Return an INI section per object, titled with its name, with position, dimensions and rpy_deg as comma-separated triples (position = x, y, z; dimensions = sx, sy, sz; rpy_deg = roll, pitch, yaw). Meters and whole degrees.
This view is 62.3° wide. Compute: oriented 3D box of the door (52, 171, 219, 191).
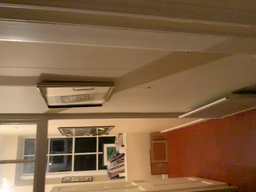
[door]
position = 0.070, 1.030, 2.540
dimensions = 0.710, 1.820, 0.030
rpy_deg = 135, 133, -71
